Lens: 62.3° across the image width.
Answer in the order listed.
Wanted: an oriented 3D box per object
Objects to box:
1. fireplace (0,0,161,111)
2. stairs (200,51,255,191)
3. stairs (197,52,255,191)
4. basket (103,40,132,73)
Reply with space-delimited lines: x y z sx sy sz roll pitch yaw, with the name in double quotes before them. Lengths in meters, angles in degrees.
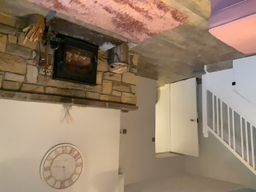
"fireplace" -0.800 -0.370 2.910 2.510 0.960 1.170 8 170 -42
"stairs" 2.270 0.460 3.190 0.160 2.420 2.420 9 170 -43
"stairs" 2.540 0.470 3.430 0.750 2.370 2.680 8 170 -42
"basket" -0.150 -0.580 3.190 0.300 0.380 0.300 8 170 -42
